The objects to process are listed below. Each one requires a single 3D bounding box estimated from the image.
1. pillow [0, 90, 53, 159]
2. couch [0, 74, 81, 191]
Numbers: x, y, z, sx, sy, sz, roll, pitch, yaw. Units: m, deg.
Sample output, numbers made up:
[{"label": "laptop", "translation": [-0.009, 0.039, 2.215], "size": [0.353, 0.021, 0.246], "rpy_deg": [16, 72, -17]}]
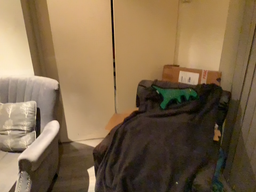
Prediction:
[{"label": "pillow", "translation": [-0.850, 0.220, 1.590], "size": [0.340, 0.380, 0.190], "rpy_deg": [-25, 25, 15]}, {"label": "couch", "translation": [-0.890, 0.400, 1.570], "size": [0.750, 0.910, 0.750], "rpy_deg": [4, 24, 10]}]
